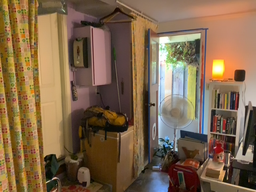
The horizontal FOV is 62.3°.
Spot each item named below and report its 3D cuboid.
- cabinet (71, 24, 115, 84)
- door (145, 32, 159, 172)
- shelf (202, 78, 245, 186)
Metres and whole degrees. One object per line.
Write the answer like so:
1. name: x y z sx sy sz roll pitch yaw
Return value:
1. cabinet: -0.480 -0.570 3.020 0.330 0.750 0.540 4 9 29
2. door: 0.400 0.080 3.480 0.070 2.060 0.810 2 8 17
3. shelf: 1.400 0.480 3.130 0.460 1.470 0.400 4 9 30
